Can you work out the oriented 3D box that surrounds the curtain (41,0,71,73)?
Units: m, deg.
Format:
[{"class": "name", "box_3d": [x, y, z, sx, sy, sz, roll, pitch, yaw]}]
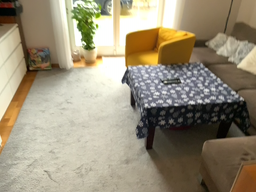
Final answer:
[{"class": "curtain", "box_3d": [-1.080, -1.590, 2.960, 0.260, 2.660, 0.240, 0, 31, -4]}]

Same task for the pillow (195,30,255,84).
[{"class": "pillow", "box_3d": [1.460, -0.620, 3.050, 0.330, 0.320, 1.280, -5, 32, -12]}]
